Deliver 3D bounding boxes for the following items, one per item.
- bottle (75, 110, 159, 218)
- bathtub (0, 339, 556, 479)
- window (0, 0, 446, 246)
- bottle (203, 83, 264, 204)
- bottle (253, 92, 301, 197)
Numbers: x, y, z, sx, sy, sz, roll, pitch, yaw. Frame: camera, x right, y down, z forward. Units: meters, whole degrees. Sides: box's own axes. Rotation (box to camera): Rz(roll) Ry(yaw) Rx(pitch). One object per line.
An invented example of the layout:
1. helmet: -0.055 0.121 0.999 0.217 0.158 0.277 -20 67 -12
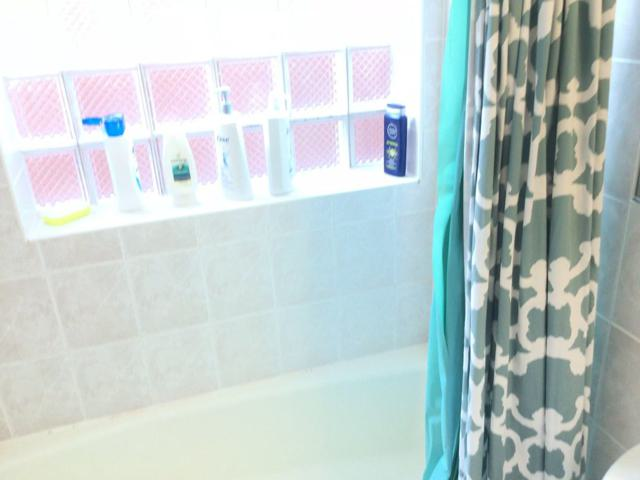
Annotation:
1. bottle: -0.550 -0.210 1.580 0.170 0.250 0.130 -9 24 -15
2. bathtub: -0.200 0.750 1.520 1.450 0.360 0.750 -9 24 -15
3. window: -0.260 -0.670 1.460 1.140 1.190 0.290 -9 24 -15
4. bottle: -0.240 -0.270 1.610 0.120 0.300 0.130 -9 24 -15
5. bottle: -0.120 -0.270 1.630 0.100 0.270 0.100 -9 24 -15
